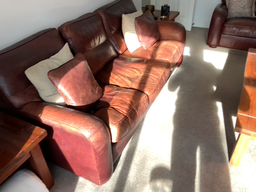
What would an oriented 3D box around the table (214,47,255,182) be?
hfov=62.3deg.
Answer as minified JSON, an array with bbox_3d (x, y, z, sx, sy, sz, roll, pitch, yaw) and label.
[{"bbox_3d":[1.350,0.110,1.840,0.810,0.470,1.360,17,40,24],"label":"table"}]

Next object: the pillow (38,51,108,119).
[{"bbox_3d":[-0.390,-0.090,1.610,0.150,0.340,0.420,-9,26,34],"label":"pillow"}]
